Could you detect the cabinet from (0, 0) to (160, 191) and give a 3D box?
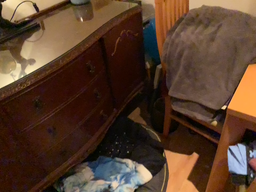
[{"bbox_3d":[-0.430,0.090,1.300,0.590,0.920,1.450,22,49,30],"label":"cabinet"}]
